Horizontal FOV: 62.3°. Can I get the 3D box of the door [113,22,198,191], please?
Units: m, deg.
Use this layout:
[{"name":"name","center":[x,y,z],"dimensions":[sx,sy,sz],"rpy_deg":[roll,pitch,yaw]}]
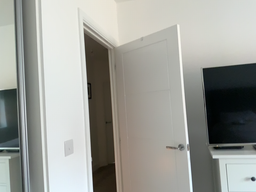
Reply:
[{"name":"door","center":[0.220,0.450,1.930],"dimensions":[0.780,2.030,0.070],"rpy_deg":[-5,-3,41]}]
